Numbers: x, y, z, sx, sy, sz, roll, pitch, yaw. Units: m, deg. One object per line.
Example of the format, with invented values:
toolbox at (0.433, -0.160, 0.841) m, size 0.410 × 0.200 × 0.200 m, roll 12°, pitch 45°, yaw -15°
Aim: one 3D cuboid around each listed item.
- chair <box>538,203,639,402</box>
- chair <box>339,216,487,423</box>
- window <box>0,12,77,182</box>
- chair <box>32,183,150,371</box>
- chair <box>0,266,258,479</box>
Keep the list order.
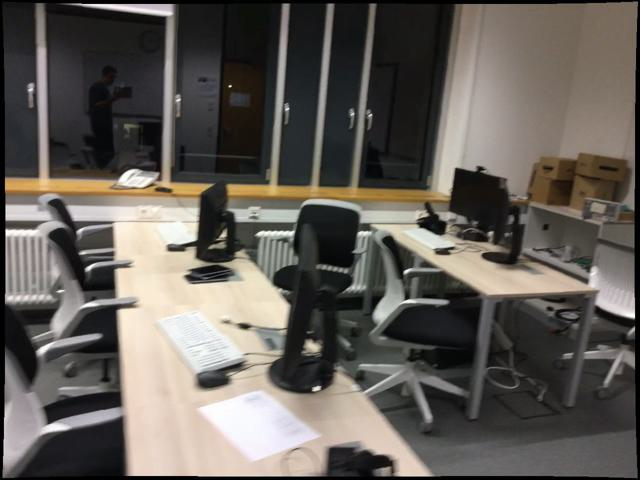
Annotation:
chair at (1.828, 0.330, 3.480) m, size 0.660 × 0.931 × 0.750 m, roll 13°, pitch 19°, yaw 37°
chair at (0.450, 0.400, 3.090) m, size 0.669 × 0.951 × 0.520 m, roll 1°, pitch 15°, yaw 2°
window at (-2.468, -0.901, 3.670) m, size 1.599 × 1.031 × 0.400 m, roll -4°, pitch 16°, yaw -17°
chair at (-1.339, 0.180, 3.480) m, size 0.530 × 0.931 × 0.660 m, roll -4°, pitch 16°, yaw -17°
chair at (-0.719, 0.641, 1.970) m, size 0.889 × 0.881 × 0.680 m, roll -4°, pitch 16°, yaw -17°
